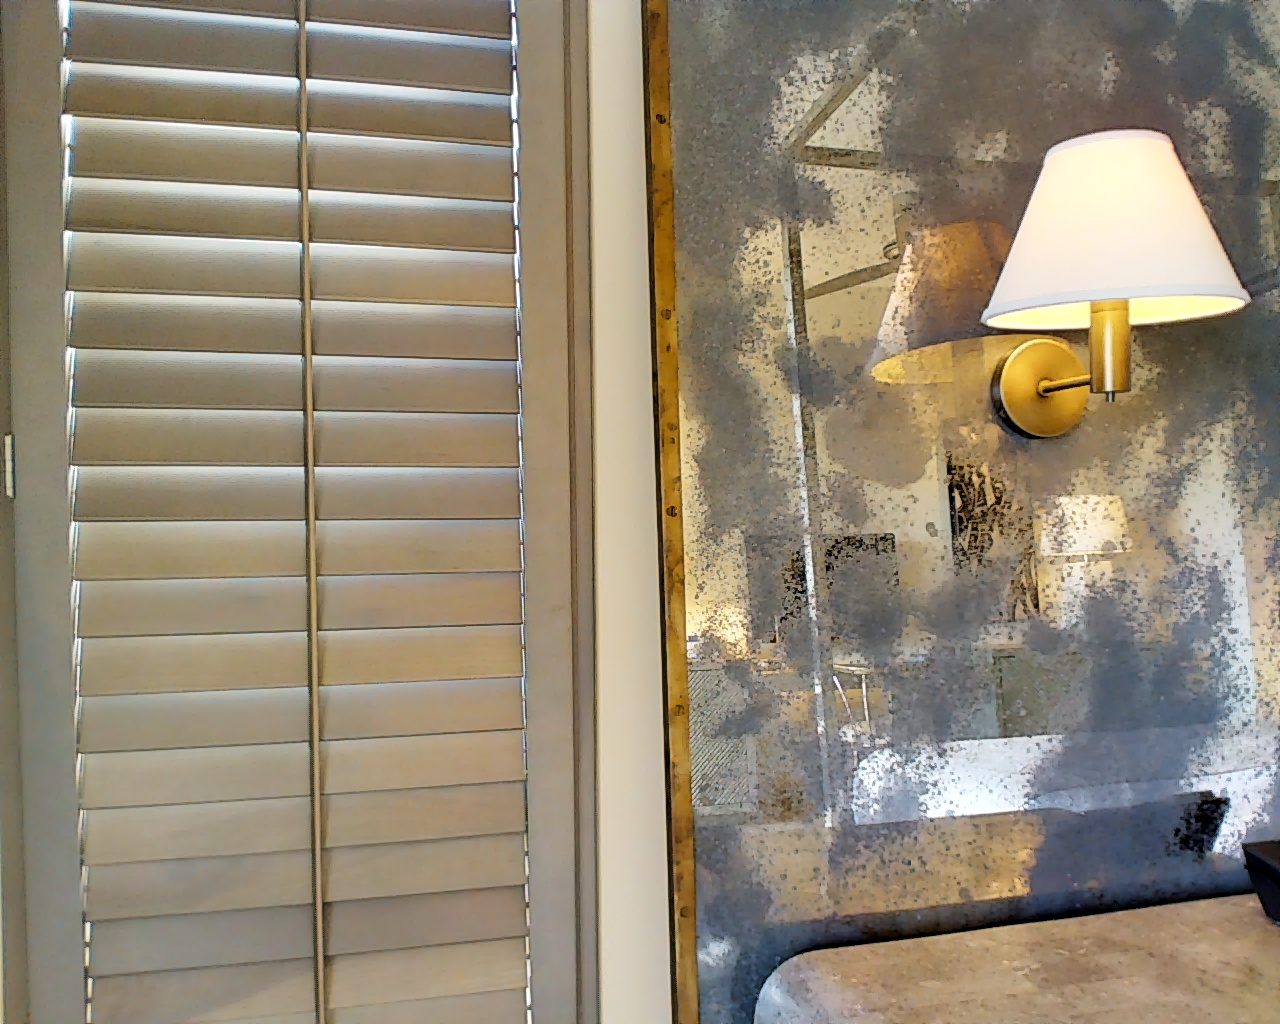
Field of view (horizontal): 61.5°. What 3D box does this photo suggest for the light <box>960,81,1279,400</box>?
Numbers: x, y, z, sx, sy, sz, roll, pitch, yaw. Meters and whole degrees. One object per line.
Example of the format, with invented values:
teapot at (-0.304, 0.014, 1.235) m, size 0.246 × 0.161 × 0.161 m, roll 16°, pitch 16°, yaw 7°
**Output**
light at (0.560, -0.290, 1.240) m, size 0.280 × 0.300 × 0.250 m, roll -1°, pitch 2°, yaw -12°
